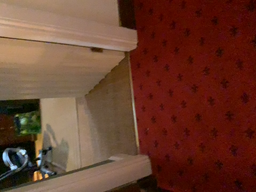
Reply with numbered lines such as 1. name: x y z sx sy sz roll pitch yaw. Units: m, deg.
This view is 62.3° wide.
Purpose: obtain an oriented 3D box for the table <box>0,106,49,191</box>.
1. table: -2.050 1.070 3.960 0.740 0.820 1.690 -5 88 53

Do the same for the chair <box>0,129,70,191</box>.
1. chair: -1.540 1.080 3.120 0.760 1.020 0.740 42 124 43
